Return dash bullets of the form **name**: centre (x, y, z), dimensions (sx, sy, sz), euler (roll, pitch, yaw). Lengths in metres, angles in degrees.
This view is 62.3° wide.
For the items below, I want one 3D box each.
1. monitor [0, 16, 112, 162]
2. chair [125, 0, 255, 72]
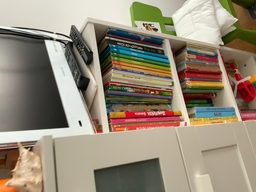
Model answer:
- **monitor**: centre (-0.330, -0.080, 0.610), dimensions (0.590, 0.400, 0.040), euler (59, 135, 40)
- **chair**: centre (0.390, -0.410, 1.170), dimensions (0.390, 0.660, 0.370), euler (-32, 62, 53)
